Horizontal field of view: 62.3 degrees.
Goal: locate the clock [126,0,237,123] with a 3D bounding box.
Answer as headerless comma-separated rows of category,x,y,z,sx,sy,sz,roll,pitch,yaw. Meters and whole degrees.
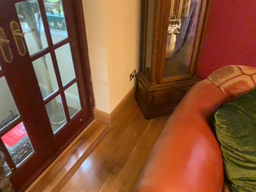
clock,0.400,-0.700,1.840,0.760,1.980,0.510,-5,36,-7
